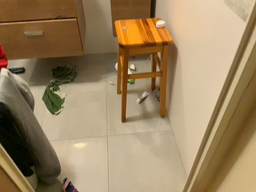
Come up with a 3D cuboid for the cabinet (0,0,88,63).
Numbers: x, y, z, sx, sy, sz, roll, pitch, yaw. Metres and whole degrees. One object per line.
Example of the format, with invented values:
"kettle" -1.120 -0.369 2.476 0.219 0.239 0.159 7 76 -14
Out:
"cabinet" -0.640 -0.630 1.540 0.600 0.580 0.440 -5 44 -4
